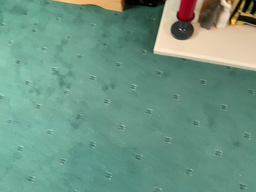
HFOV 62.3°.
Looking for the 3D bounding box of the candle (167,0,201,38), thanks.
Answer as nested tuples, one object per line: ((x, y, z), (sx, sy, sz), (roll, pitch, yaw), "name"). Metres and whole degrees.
((0.280, -0.440, 1.080), (0.120, 0.280, 0.120), (8, 69, 7), "candle")
